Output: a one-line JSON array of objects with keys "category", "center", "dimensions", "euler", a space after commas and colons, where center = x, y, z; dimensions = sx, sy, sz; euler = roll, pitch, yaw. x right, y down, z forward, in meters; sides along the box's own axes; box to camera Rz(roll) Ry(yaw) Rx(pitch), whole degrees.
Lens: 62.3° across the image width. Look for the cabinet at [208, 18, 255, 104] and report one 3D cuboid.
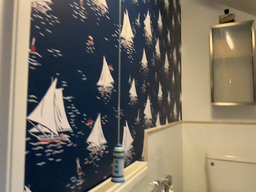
[{"category": "cabinet", "center": [0.870, -0.280, 1.780], "dimensions": [0.350, 0.700, 0.040], "euler": [-1, -4, 24]}]
